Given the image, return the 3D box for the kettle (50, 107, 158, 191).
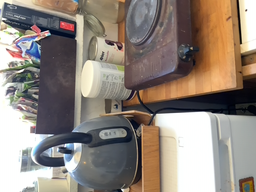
[{"bbox_3d":[-0.080,0.150,0.590,0.270,0.200,0.220,-9,78,60],"label":"kettle"}]
